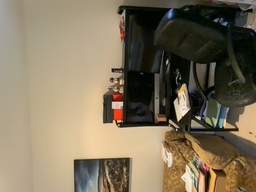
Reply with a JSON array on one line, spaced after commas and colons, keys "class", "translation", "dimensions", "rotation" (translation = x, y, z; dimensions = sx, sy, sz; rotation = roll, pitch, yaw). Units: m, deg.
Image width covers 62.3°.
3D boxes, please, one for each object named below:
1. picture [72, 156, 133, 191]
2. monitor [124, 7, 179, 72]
[{"class": "picture", "translation": [-0.360, 1.410, 3.000], "dimensions": [0.050, 0.830, 1.140], "rotation": [-132, 43, -78]}, {"class": "monitor", "translation": [0.270, -0.660, 2.580], "dimensions": [0.040, 0.590, 0.750], "rotation": [-105, 17, -62]}]
